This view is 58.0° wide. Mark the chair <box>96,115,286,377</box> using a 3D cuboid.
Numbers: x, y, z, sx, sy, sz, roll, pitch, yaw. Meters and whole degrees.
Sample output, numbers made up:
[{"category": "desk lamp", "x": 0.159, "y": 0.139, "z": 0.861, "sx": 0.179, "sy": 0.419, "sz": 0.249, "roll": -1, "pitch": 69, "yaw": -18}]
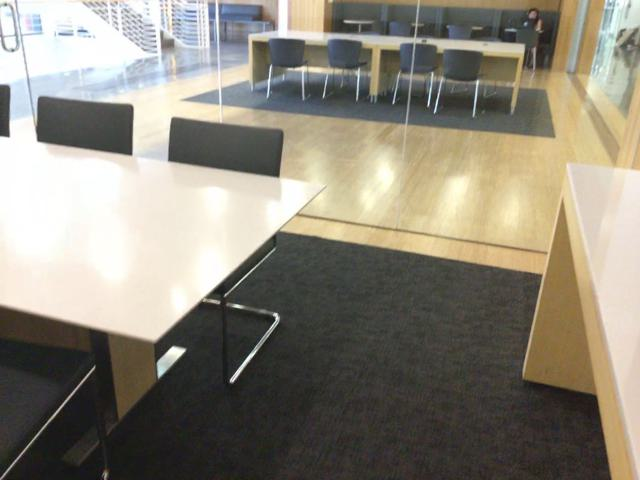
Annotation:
[{"category": "chair", "x": -0.440, "y": -0.010, "z": 2.170, "sx": 0.430, "sy": 0.770, "sz": 0.560, "roll": 10, "pitch": 25, "yaw": 14}]
